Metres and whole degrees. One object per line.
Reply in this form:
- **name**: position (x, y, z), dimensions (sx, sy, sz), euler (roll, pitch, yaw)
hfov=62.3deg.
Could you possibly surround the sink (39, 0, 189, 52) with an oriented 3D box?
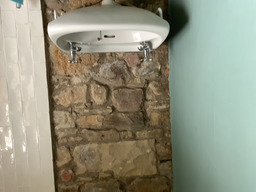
- **sink**: position (-0.070, -0.360, 1.110), dimensions (0.640, 0.200, 0.410), euler (-3, -174, -7)
